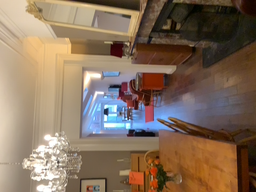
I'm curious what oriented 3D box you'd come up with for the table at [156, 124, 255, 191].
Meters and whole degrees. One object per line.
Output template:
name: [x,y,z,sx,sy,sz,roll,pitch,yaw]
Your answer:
table: [0.920,0.870,2.320,2.020,0.760,1.000,145,126,-83]
